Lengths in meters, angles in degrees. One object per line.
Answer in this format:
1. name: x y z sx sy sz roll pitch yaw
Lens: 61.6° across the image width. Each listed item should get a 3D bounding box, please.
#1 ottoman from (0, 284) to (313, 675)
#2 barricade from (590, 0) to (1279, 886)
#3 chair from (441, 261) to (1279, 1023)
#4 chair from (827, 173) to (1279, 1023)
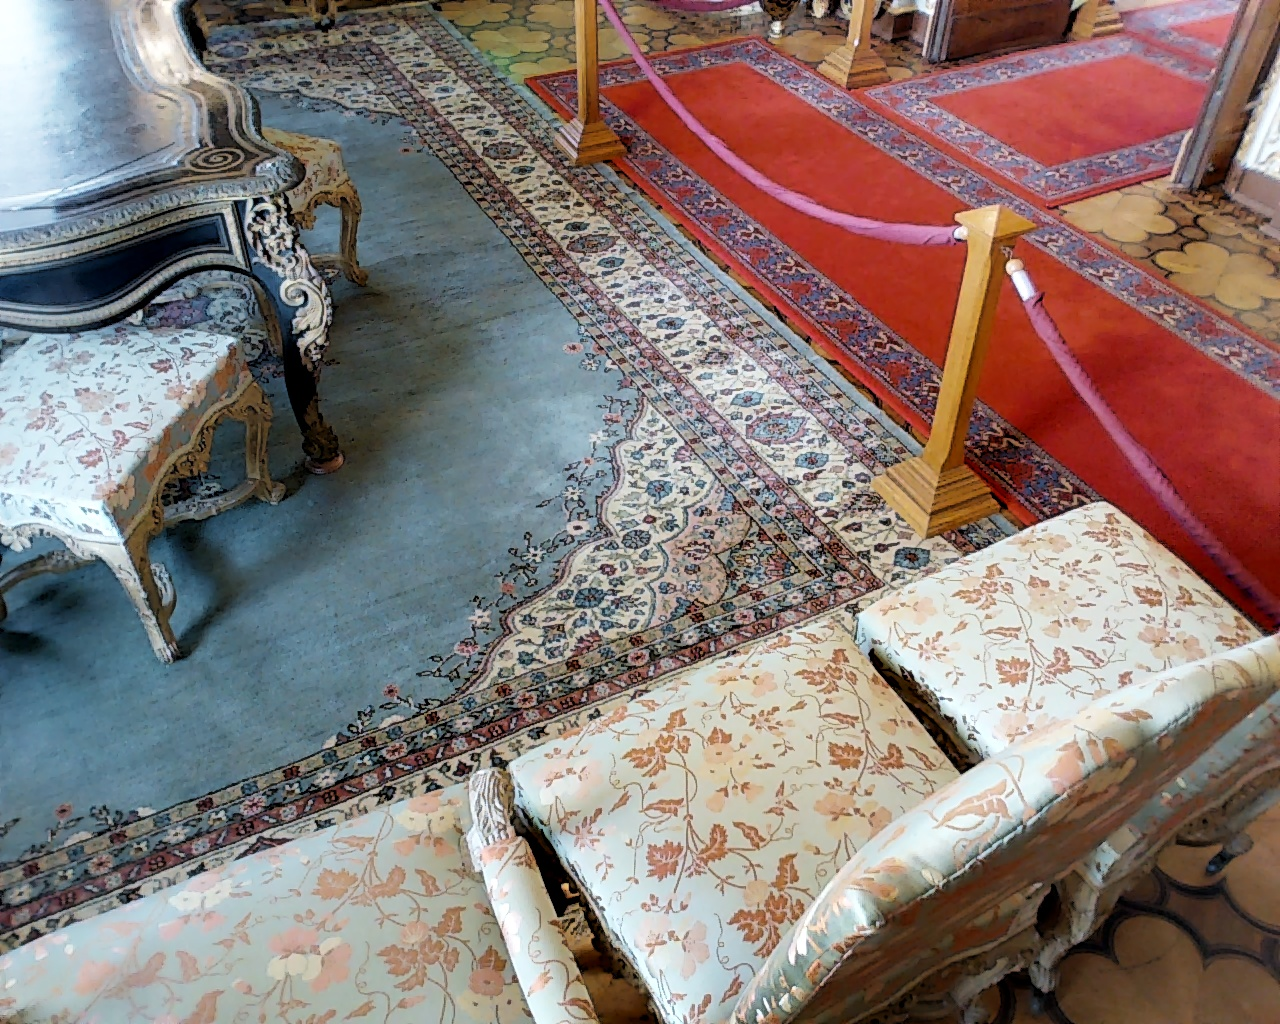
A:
1. ottoman: -1.170 -0.090 2.420 0.530 0.540 0.640 7 42 8
2. barricade: 0.940 -0.090 2.230 0.240 0.810 4.310 -19 45 -20
3. chair: 0.250 0.420 1.390 0.670 1.150 0.690 -19 45 -20
4. chair: 0.800 0.230 1.620 0.600 1.140 0.710 -19 45 -20
